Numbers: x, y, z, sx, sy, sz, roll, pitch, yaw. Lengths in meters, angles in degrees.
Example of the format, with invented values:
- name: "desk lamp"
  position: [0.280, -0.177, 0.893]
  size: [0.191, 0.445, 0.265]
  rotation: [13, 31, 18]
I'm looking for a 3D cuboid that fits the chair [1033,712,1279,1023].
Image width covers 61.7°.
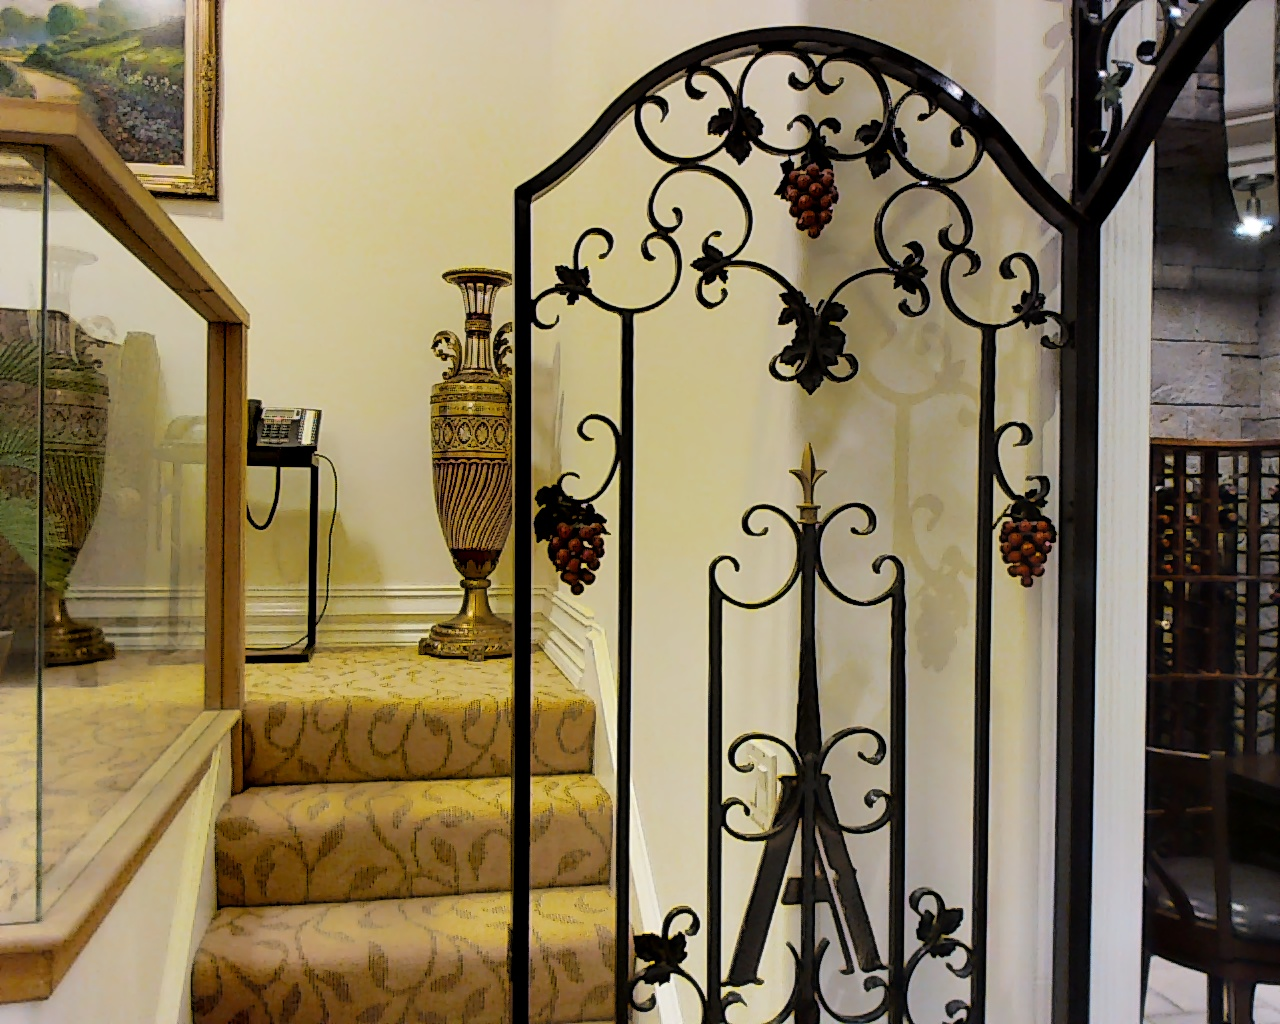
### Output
- name: "chair"
  position: [1.280, 1.050, 2.410]
  size: [0.560, 1.090, 0.500]
  rotation: [1, 0, -12]
